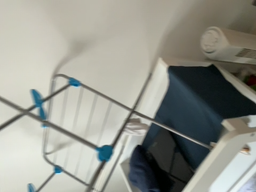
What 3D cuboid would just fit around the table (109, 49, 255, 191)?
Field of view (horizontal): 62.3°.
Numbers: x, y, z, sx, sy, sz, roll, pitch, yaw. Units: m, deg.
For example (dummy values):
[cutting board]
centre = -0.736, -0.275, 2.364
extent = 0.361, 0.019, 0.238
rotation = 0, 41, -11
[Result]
[table]
centre = 0.500, 0.270, 1.200
extent = 0.540, 0.930, 0.800
rotation = 58, 139, 45
